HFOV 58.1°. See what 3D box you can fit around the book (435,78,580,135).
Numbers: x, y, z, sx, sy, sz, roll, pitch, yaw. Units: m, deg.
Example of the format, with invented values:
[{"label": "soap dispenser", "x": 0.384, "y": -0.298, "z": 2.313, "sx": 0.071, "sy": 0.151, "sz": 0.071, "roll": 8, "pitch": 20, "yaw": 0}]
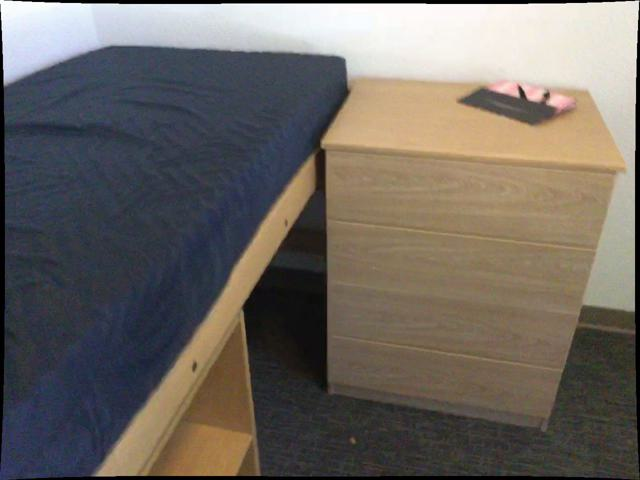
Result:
[{"label": "book", "x": 0.569, "y": -0.421, "z": 1.780, "sx": 0.270, "sy": 0.040, "sz": 0.330, "roll": -18, "pitch": 35, "yaw": -27}]
